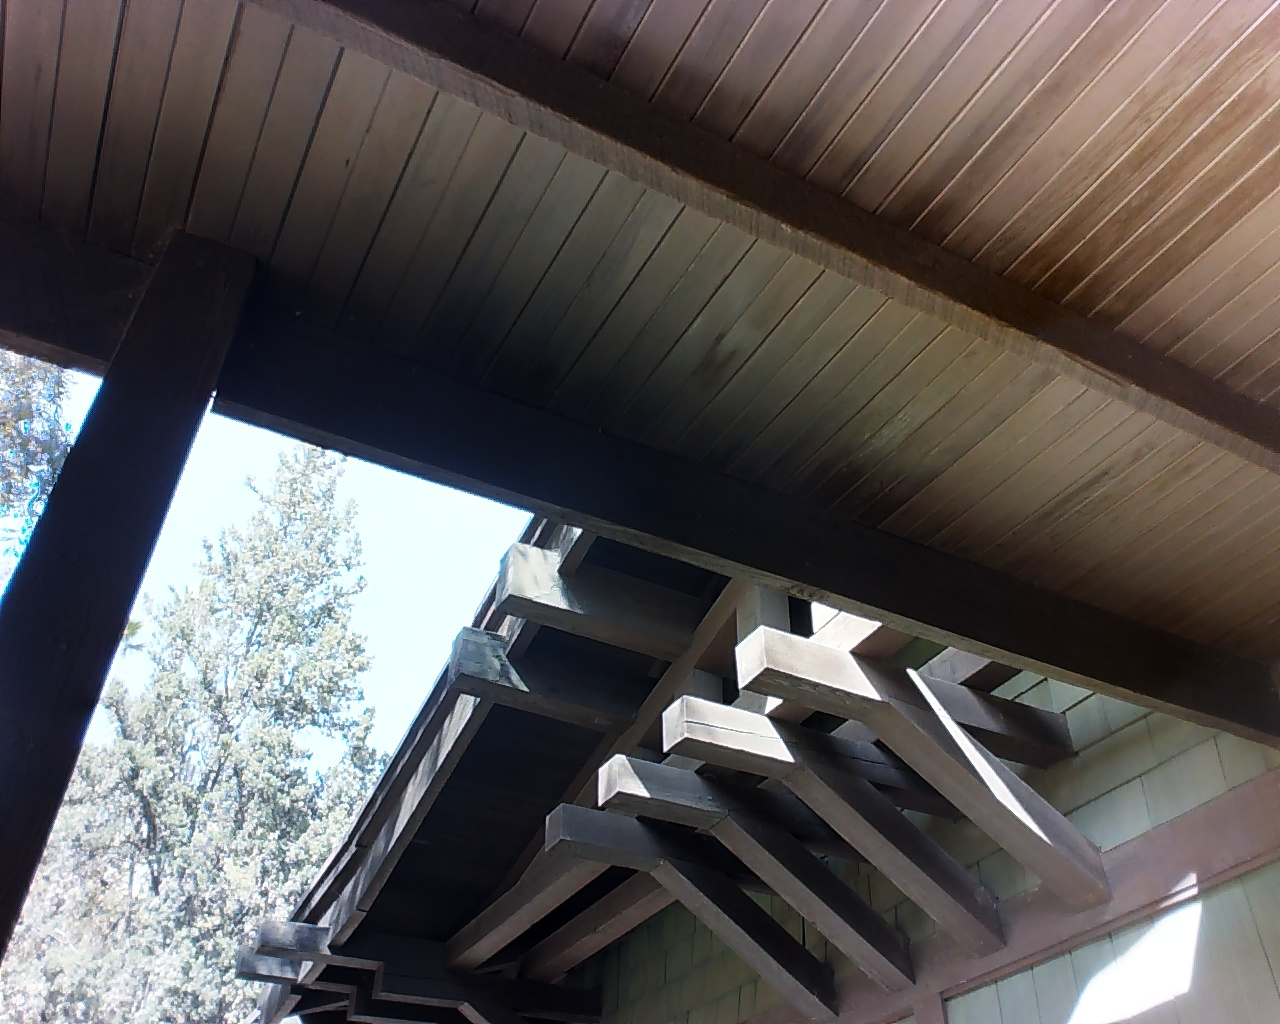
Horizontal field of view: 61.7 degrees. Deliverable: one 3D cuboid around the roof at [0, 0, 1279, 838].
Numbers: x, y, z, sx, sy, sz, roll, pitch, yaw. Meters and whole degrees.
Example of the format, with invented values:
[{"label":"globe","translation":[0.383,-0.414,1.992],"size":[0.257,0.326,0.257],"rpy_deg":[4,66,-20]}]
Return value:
[{"label":"roof","translation":[0.620,-0.730,1.250],"size":[3.910,0.460,2.770],"rpy_deg":[19,-45,-22]}]
